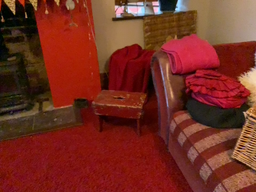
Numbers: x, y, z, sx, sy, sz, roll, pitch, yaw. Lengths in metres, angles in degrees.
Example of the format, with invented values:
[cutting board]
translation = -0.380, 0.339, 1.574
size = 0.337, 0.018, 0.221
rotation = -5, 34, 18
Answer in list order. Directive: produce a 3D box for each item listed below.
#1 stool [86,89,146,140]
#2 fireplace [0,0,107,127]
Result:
[stool]
translation = -0.090, 0.150, 1.870
size = 0.450, 0.300, 0.290
rotation = 5, 28, 10
[fireplace]
translation = -1.290, -0.440, 2.080
size = 1.960, 1.250, 0.800
rotation = -9, 29, -16
